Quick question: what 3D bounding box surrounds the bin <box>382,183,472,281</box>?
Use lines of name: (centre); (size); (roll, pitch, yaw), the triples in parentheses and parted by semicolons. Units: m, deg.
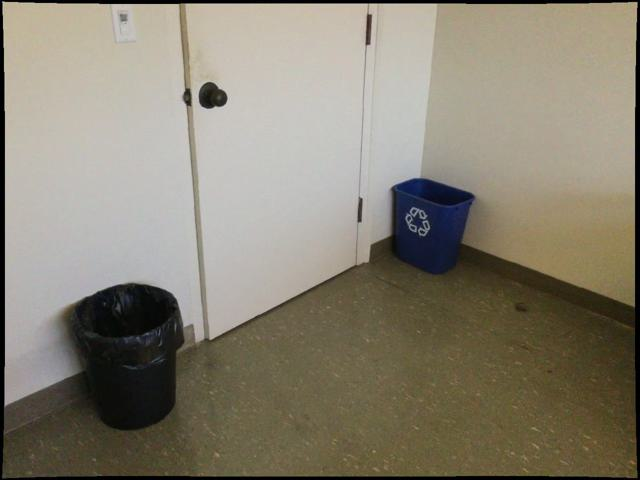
bin: (0.529, -0.050, 2.890); (0.250, 0.351, 0.340); (-23, 33, -37)

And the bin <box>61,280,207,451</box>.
bin: (-0.628, 0.411, 1.970); (0.310, 0.371, 0.330); (-23, 33, -37)
